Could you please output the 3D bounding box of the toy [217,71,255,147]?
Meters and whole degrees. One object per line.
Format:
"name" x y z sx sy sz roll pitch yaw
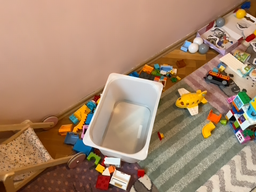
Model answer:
"toy" 0.680 0.060 1.100 0.230 0.270 0.250 -40 66 -20

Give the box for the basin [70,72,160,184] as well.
"basin" -0.040 0.150 1.120 0.330 0.190 0.500 9 60 7
